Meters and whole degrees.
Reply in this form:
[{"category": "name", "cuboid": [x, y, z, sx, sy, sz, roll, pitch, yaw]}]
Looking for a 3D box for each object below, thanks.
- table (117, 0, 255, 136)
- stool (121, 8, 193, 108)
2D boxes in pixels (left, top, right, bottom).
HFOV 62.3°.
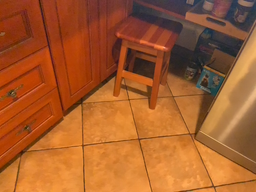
[{"category": "table", "cuboid": [0.390, -0.380, 1.230, 0.600, 0.860, 0.630, 32, 50, 23]}, {"category": "stool", "cuboid": [0.170, -0.240, 1.350, 0.290, 0.460, 0.340, 21, 46, 13]}]
